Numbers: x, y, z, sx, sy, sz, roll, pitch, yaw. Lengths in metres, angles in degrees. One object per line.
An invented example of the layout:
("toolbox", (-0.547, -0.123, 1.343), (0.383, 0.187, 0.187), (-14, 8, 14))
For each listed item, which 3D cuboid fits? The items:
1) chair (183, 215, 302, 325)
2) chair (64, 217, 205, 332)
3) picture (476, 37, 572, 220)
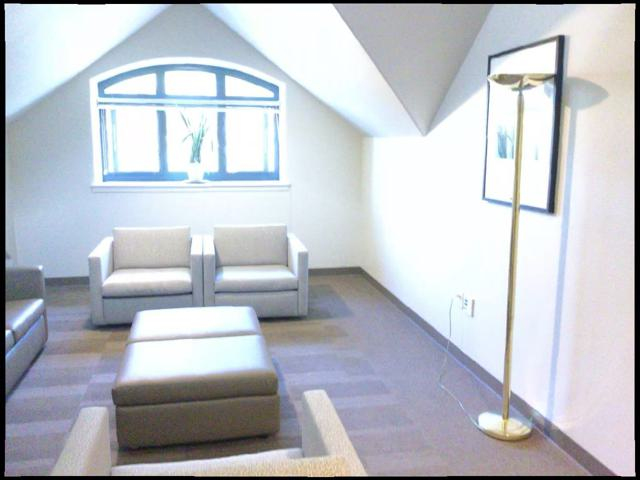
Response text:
("chair", (-0.709, 0.220, 5.070), (0.938, 0.741, 0.900), (-1, 12, -13))
("chair", (-1.497, 0.240, 4.860), (1.008, 0.721, 0.950), (-1, 12, -13))
("picture", (1.068, -0.591, 3.110), (0.080, 0.872, 0.660), (-1, 12, -13))
